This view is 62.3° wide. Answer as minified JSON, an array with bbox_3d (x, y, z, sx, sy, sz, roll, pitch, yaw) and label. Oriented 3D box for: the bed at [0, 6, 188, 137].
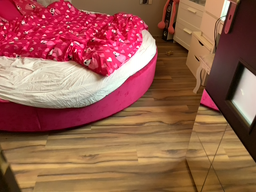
[{"bbox_3d":[-0.860,-0.550,2.520,2.350,0.450,2.360,-2,35,-7],"label":"bed"}]
